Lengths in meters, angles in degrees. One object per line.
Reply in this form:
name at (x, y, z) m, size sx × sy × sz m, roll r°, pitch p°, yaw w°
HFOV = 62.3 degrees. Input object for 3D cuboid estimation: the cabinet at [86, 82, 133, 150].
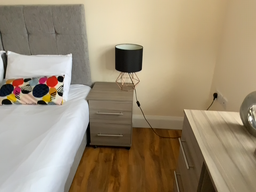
cabinet at (-0.160, 0.180, 2.080) m, size 0.390 × 0.520 × 0.400 m, roll 2°, pitch 24°, yaw 2°
